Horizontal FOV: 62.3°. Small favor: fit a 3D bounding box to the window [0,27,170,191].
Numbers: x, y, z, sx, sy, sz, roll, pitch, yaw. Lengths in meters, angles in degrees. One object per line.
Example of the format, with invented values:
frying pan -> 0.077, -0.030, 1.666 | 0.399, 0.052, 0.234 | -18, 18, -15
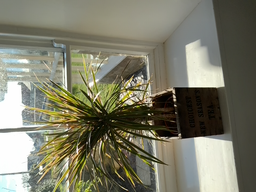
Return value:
window -> -0.340, 0.160, 1.200 | 0.200, 1.120, 1.000 | 155, 112, -65
